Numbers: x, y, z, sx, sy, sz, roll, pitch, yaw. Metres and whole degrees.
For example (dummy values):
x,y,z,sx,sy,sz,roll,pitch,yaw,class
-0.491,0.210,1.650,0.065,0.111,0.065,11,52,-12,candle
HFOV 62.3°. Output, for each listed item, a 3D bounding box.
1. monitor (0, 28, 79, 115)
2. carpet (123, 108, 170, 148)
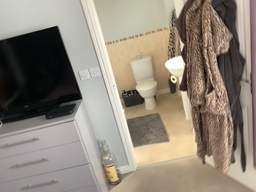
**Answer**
x,y,z,sx,sy,sz,roll,pitch,yaw,class
-1.010,-0.140,1.740,1.060,0.560,0.070,-13,22,3,monitor
0.220,0.420,3.010,0.540,0.040,0.800,-14,22,0,carpet
